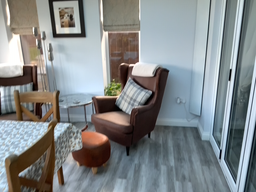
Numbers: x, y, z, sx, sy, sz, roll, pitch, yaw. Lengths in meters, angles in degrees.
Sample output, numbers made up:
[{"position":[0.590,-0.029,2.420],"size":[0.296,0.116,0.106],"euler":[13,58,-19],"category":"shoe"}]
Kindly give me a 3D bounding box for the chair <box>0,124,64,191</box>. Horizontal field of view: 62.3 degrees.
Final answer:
[{"position":[-0.710,0.680,1.290],"size":[0.490,0.910,0.420],"euler":[1,17,5],"category":"chair"}]

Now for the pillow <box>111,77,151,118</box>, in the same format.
[{"position":[0.030,0.010,2.940],"size":[0.200,0.400,0.430],"euler":[-4,32,-48],"category":"pillow"}]
